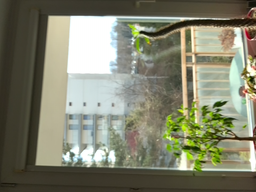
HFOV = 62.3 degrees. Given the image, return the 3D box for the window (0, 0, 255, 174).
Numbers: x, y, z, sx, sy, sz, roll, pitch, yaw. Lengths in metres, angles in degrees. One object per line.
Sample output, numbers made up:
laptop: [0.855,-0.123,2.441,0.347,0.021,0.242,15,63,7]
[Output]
window: [0.040,-0.370,1.430,0.190,1.730,1.650,91,180,-82]
